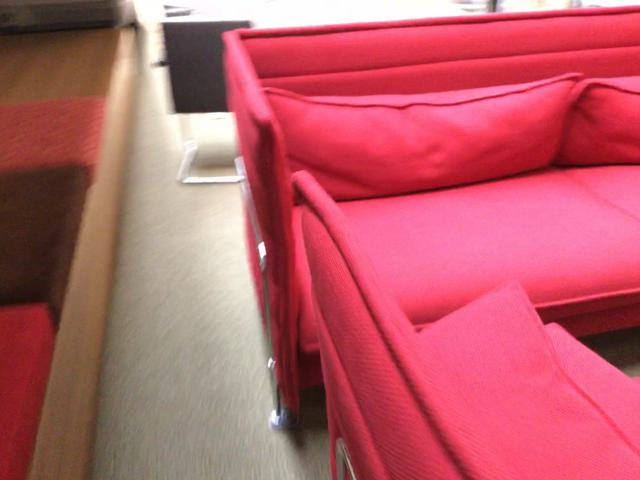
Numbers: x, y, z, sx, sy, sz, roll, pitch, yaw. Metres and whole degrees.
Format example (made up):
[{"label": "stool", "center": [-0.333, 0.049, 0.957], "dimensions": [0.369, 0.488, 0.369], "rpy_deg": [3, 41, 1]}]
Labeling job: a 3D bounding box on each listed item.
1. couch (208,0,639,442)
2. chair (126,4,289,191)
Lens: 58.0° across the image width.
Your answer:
[{"label": "couch", "center": [0.960, -0.270, 1.840], "dimensions": [2.450, 0.880, 0.930], "rpy_deg": [-9, 30, -8]}, {"label": "chair", "center": [-0.510, -0.710, 2.890], "dimensions": [0.640, 0.790, 0.390], "rpy_deg": [-4, 30, 0]}]
